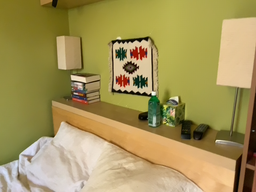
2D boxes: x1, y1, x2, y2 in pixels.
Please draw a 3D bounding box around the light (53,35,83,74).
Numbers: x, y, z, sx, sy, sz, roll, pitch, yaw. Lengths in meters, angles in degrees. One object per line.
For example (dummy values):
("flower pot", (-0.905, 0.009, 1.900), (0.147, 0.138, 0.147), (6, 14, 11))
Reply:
("light", (-0.530, -0.370, 1.890), (0.190, 0.320, 0.160), (11, 17, 39))
